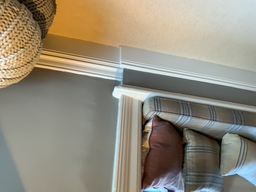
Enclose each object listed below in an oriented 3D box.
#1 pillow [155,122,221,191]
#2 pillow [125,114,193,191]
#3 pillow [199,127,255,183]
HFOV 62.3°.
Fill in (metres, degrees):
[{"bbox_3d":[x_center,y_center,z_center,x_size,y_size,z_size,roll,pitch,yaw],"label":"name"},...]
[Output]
[{"bbox_3d":[0.370,0.410,1.300,0.200,0.330,0.430,-21,141,32],"label":"pillow"},{"bbox_3d":[0.150,0.350,1.200,0.280,0.370,0.290,7,147,-8],"label":"pillow"},{"bbox_3d":[0.690,0.390,1.350,0.420,0.230,0.190,20,143,-25],"label":"pillow"}]
